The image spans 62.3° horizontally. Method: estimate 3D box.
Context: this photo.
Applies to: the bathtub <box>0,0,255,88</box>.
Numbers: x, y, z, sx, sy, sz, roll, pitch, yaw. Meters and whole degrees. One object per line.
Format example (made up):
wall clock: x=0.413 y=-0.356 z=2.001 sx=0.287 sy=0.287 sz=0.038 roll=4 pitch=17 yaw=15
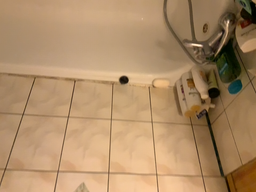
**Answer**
bathtub: x=-0.390 y=-0.550 z=0.990 sx=1.690 sy=0.590 sz=0.690 roll=5 pitch=144 yaw=-7
